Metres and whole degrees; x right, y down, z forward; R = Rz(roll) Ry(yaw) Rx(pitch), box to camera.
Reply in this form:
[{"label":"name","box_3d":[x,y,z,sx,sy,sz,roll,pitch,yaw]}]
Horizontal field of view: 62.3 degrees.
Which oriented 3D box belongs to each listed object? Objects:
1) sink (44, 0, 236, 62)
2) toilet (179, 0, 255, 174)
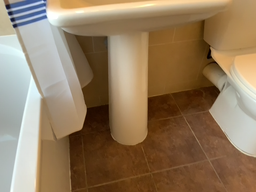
[{"label":"sink","box_3d":[0.000,-0.350,0.780,0.540,0.150,0.460,-9,45,-11]},{"label":"toilet","box_3d":[0.640,-0.140,1.070,0.380,0.770,0.670,-9,45,-10]}]
